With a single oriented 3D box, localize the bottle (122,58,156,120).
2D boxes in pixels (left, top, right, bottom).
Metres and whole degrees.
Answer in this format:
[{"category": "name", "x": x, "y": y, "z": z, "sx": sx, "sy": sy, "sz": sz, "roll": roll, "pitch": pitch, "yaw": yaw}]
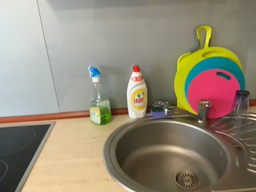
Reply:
[{"category": "bottle", "x": 0.050, "y": -0.030, "z": 0.960, "sx": 0.140, "sy": 0.260, "sz": 0.090, "roll": -3, "pitch": 24, "yaw": -1}]
